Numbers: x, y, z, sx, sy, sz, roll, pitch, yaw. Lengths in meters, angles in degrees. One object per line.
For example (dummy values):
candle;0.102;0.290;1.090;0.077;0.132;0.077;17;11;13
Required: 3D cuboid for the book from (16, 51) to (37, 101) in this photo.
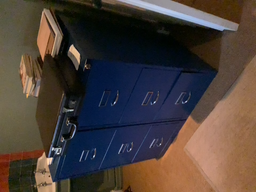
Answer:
book;-0.650;-0.130;1.350;0.270;0.070;0.200;55;132;40
